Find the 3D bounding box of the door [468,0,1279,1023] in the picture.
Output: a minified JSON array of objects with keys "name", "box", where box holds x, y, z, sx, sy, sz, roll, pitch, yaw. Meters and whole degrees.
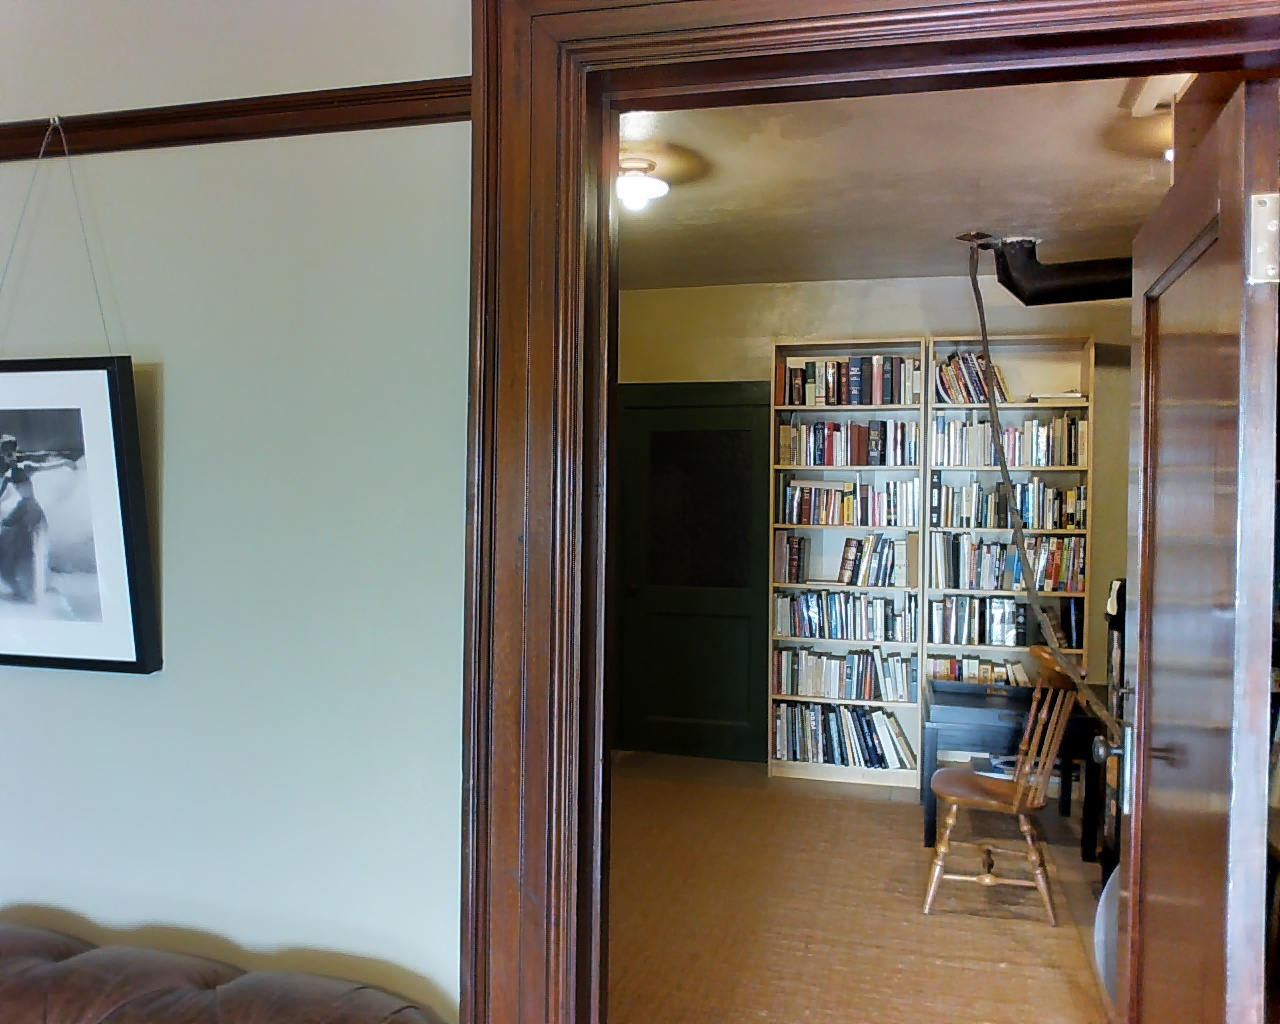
[{"name":"door","box":[0.360,0.400,1.320,1.190,2.250,0.080,1,1,15]}]
